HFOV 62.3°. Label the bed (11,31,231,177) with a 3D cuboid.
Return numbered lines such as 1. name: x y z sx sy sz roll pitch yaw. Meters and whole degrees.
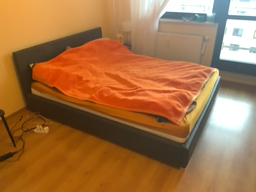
1. bed: -0.020 -0.230 2.790 2.140 0.680 1.710 17 33 28
